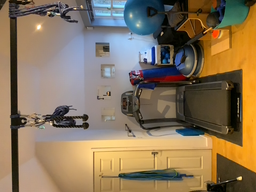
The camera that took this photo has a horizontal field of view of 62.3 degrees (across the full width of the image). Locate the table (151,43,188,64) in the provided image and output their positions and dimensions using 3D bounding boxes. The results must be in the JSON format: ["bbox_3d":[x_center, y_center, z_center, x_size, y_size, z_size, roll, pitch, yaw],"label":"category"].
[{"bbox_3d":[0.890,-0.900,4.540,0.270,0.730,0.410,-157,67,-84],"label":"table"}]
